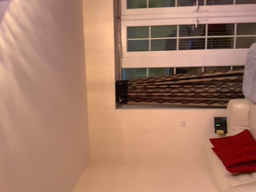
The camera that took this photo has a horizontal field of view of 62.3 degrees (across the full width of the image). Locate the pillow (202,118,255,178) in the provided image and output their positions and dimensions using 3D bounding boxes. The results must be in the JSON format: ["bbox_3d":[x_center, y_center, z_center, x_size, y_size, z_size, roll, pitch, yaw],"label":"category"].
[{"bbox_3d":[1.190,0.540,2.360,0.720,0.480,0.190,-88,-18,-72],"label":"pillow"}]

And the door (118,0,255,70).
[{"bbox_3d":[0.890,-1.100,2.930,0.080,2.060,1.420,-62,-29,-81],"label":"door"}]
